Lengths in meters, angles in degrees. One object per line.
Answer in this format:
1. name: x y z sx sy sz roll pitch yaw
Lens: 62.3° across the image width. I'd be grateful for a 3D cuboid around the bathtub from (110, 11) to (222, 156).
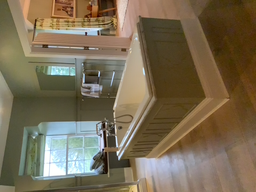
1. bathtub: 0.220 0.050 2.650 1.890 0.610 0.900 112 154 -59
